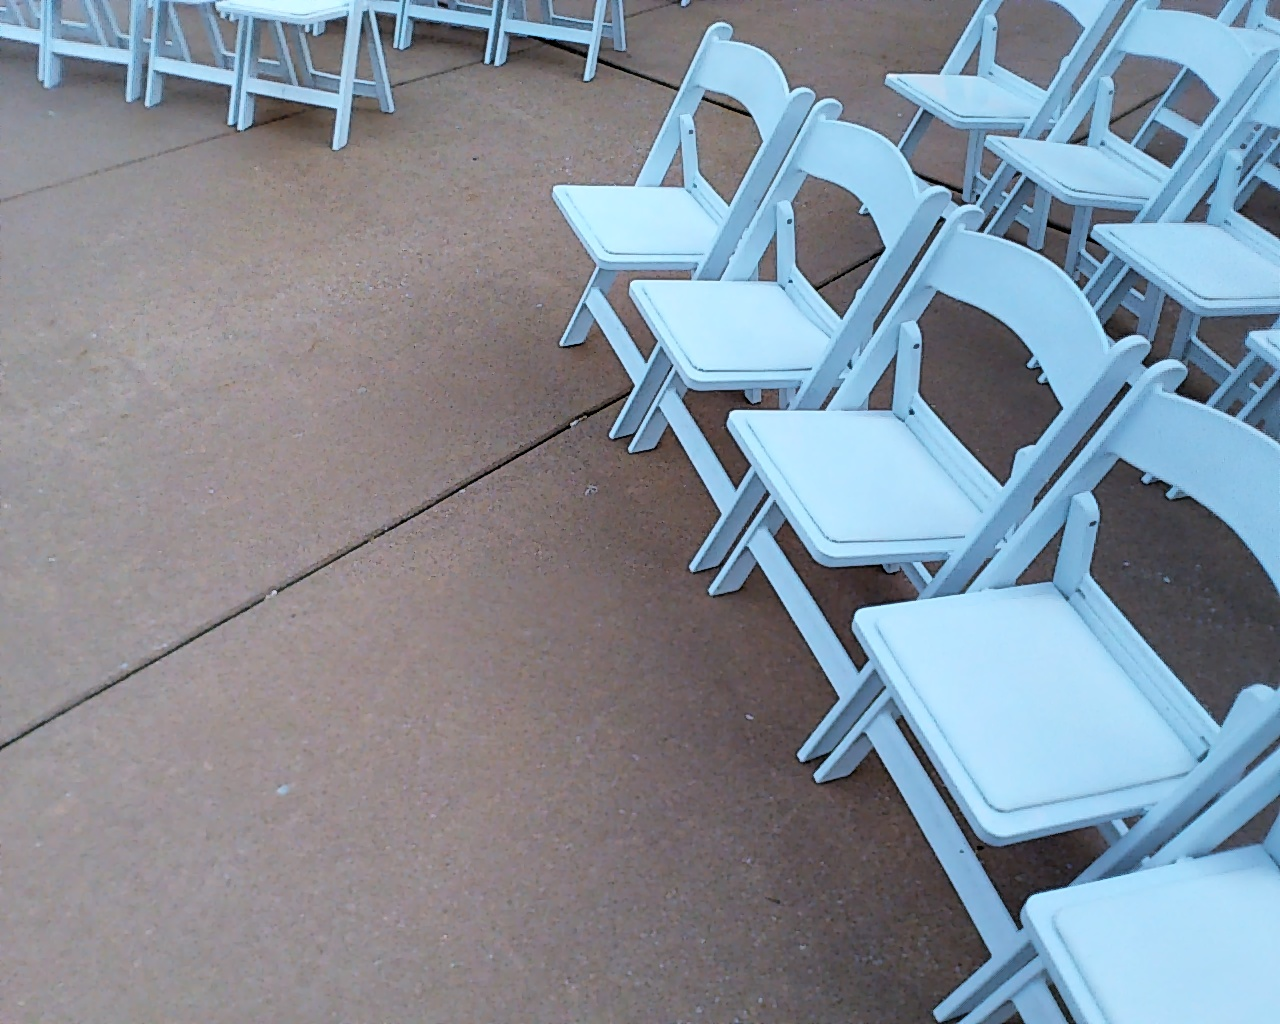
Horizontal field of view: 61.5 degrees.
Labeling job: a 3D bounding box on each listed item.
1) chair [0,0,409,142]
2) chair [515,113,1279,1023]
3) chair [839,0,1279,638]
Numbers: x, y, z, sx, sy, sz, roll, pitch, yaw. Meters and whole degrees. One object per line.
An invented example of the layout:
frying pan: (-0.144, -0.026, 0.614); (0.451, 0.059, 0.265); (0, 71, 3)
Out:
chair: (-2.130, -2.110, 4.140); (2.470, 0.750, 0.560); (18, 44, 18)
chair: (0.360, 0.020, 1.920); (0.520, 0.530, 2.410); (-13, 43, -15)
chair: (1.310, -0.540, 2.410); (0.560, 0.780, 2.560); (-12, 43, -13)
